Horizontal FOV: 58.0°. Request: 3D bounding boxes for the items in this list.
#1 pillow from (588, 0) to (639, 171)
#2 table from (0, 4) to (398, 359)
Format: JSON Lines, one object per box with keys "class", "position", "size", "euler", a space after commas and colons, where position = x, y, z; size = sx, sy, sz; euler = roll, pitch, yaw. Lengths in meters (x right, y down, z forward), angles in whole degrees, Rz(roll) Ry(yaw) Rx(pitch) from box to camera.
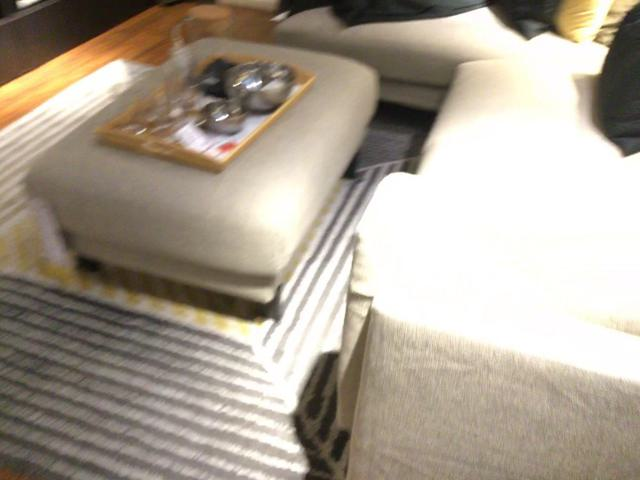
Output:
{"class": "pillow", "position": [1.000, -0.530, 1.740], "size": [0.240, 0.360, 0.670], "euler": [15, 41, 13]}
{"class": "table", "position": [-0.270, -0.280, 1.850], "size": [0.740, 0.520, 1.040], "euler": [15, 41, 13]}
